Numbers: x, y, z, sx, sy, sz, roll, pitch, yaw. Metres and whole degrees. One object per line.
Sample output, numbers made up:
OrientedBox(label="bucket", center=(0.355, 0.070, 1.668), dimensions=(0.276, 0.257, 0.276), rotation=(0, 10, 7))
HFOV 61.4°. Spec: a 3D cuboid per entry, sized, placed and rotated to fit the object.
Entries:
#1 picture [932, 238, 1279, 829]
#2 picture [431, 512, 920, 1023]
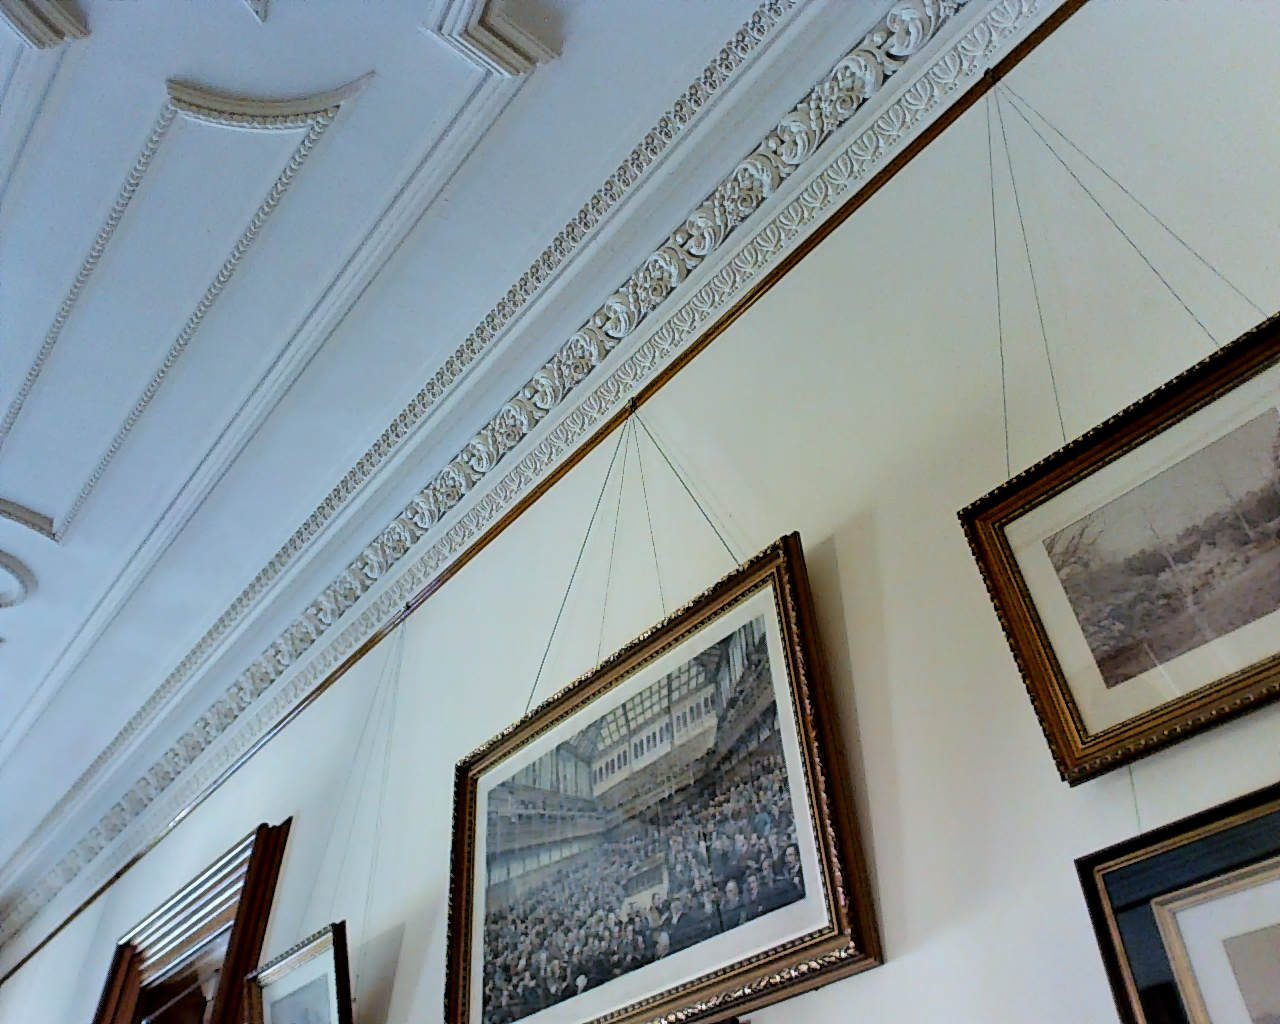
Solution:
OrientedBox(label="picture", center=(0.730, 0.020, 1.420), dimensions=(0.150, 0.570, 0.620), rotation=(30, -50, -28))
OrientedBox(label="picture", center=(-0.040, 0.680, 2.170), dimensions=(0.070, 0.900, 1.240), rotation=(30, -54, -28))
